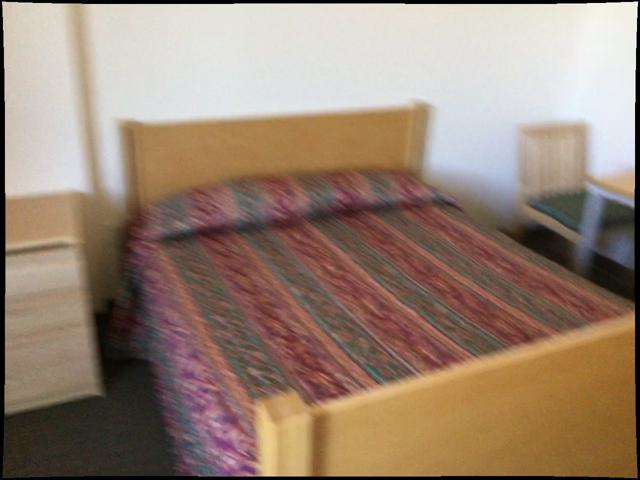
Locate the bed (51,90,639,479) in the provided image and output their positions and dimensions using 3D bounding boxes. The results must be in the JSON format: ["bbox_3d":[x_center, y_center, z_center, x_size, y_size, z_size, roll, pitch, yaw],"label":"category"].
[{"bbox_3d":[0.160,0.210,2.100,1.858,0.991,2.240,-9,26,-19],"label":"bed"}]
